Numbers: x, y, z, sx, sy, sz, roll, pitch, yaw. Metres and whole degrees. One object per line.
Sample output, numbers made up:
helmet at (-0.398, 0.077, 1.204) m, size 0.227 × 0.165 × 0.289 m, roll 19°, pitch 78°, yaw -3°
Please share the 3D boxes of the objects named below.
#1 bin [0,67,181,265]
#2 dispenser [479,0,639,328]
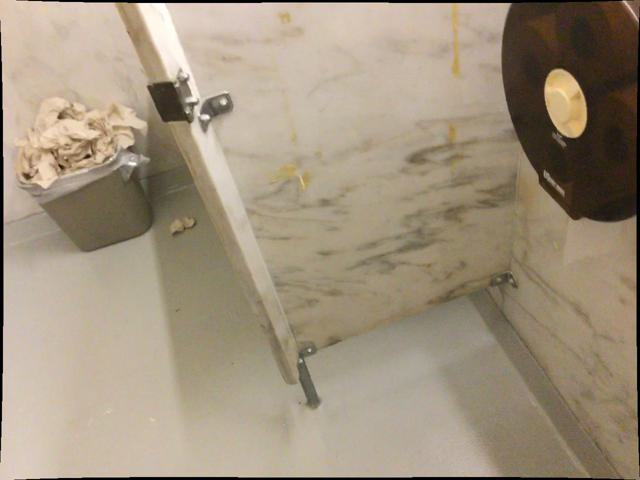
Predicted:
bin at (-0.839, -0.260, 2.090) m, size 0.470 × 0.500 × 0.320 m, roll -20°, pitch 47°, yaw -5°
dispenser at (0.390, -0.170, 0.820) m, size 0.160 × 0.490 × 0.340 m, roll -20°, pitch 47°, yaw -5°
